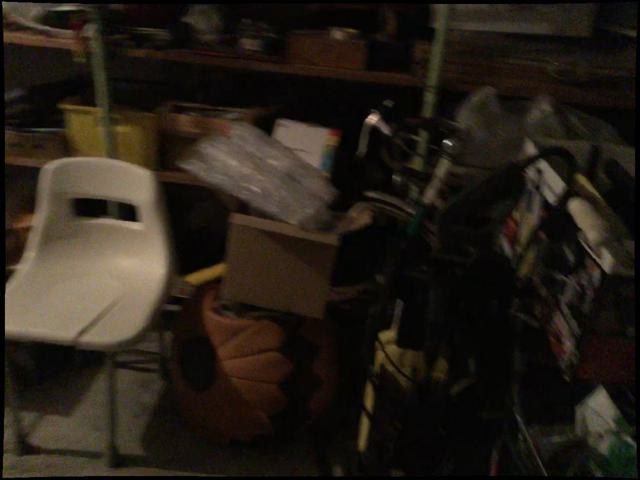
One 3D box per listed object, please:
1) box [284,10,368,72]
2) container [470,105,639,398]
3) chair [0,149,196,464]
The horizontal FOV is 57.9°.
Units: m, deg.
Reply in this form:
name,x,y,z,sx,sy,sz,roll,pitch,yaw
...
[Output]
name,x,y,z,sx,sy,sz,roll,pitch,yaw
box,0.020,-0.631,1.820,0.240,0.110,0.290,4,31,0
container,0.749,-0.010,1.410,0.569,0.380,0.710,5,31,0
chair,-0.659,0.180,1.650,0.470,0.701,0.500,4,31,0
